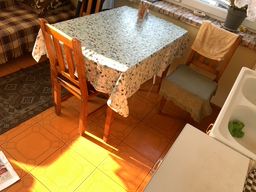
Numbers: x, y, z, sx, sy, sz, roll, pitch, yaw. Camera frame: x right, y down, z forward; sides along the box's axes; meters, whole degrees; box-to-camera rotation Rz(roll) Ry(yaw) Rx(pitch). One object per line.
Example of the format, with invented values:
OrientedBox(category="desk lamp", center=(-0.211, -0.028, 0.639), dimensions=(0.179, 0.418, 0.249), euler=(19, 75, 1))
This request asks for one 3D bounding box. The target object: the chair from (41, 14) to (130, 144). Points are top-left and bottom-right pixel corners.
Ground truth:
OrientedBox(category="chair", center=(-0.350, -0.120, 1.680), dimensions=(0.370, 0.870, 0.450), euler=(35, 43, 24))

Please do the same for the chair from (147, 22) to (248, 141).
OrientedBox(category="chair", center=(0.640, -0.150, 2.040), dimensions=(0.450, 0.870, 0.630), euler=(31, 42, 20))
